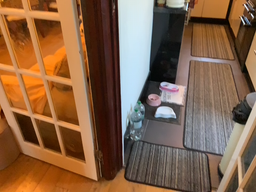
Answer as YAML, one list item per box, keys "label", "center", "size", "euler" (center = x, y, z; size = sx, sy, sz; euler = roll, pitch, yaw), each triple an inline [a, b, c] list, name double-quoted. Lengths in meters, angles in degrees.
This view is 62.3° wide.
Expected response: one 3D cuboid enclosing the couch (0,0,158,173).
- label: "couch"
  center: [-0.390, -0.430, 2.370]
  size: [1.020, 0.880, 2.150]
  euler: [9, 37, 13]
